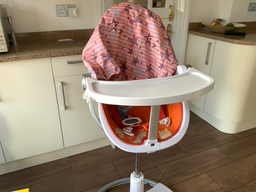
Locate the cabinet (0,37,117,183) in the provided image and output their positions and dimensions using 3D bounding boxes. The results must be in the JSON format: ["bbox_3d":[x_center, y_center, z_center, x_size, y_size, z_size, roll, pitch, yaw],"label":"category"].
[{"bbox_3d":[-0.920,0.120,1.520,1.640,0.900,0.410,-11,28,-23],"label":"cabinet"}]

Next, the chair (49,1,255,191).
[{"bbox_3d":[0.040,0.190,1.030,0.610,1.170,0.600,-9,27,-20],"label":"chair"}]
